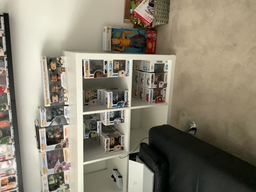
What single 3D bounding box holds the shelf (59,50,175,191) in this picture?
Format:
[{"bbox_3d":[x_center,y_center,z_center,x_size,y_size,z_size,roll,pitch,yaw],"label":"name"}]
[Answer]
[{"bbox_3d":[-0.100,0.380,1.750,0.410,0.770,1.470,23,115,59],"label":"shelf"}]
